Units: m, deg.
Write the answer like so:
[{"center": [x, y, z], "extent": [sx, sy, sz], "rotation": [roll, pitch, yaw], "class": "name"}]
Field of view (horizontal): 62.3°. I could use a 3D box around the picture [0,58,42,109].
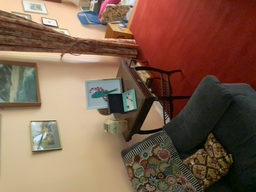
[{"center": [-1.180, -0.140, 2.090], "extent": [0.060, 0.540, 0.670], "rotation": [-63, 40, 38], "class": "picture"}]
